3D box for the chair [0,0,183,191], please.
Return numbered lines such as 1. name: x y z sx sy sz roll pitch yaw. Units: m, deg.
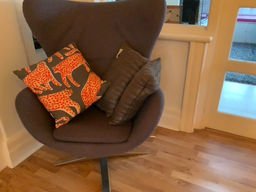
1. chair: -0.200 -0.050 1.390 0.840 1.100 0.780 0 28 2
